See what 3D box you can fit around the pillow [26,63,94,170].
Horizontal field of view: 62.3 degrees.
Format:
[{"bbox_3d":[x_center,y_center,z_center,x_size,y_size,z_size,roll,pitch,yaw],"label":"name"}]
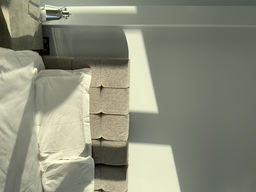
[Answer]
[{"bbox_3d":[-0.530,0.160,1.710,0.190,0.480,0.810,-137,-131,-75],"label":"pillow"}]
